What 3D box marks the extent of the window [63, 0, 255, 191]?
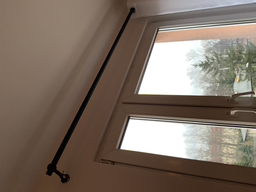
[{"bbox_3d":[0.710,-0.380,1.500,0.110,1.670,2.100,67,-147,-46],"label":"window"}]
